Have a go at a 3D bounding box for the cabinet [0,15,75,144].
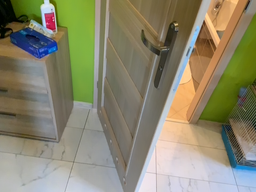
[{"bbox_3d":[-0.840,-0.110,1.490,0.800,0.740,0.420,9,43,-2],"label":"cabinet"}]
